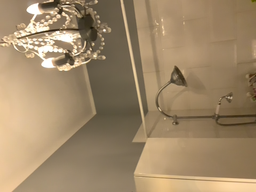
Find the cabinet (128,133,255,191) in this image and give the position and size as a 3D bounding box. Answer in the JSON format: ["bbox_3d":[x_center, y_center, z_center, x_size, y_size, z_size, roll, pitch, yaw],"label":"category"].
[{"bbox_3d":[0.540,0.370,1.210,0.410,1.000,0.140,-49,-47,-65],"label":"cabinet"}]

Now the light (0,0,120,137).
[{"bbox_3d":[-0.550,-0.280,1.090,0.930,0.510,0.540,-43,-51,-48],"label":"light"}]
